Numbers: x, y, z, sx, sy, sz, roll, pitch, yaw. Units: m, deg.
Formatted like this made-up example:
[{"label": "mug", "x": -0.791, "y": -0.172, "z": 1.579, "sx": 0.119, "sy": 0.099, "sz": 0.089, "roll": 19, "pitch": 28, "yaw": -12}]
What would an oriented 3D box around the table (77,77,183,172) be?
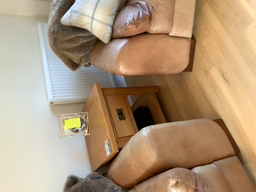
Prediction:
[{"label": "table", "x": -0.030, "y": 0.240, "z": 1.830, "sx": 0.580, "sy": 0.590, "sz": 0.550, "roll": -52, "pitch": 50, "yaw": 50}]
